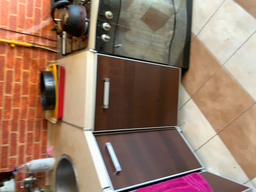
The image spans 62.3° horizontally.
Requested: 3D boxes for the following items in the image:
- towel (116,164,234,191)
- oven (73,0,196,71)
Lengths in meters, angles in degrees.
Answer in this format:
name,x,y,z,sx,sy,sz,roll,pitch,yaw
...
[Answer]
name,x,y,z,sx,sy,sz,roll,pitch,yaw
towel,0.260,0.450,1.050,0.220,0.620,0.060,4,91,53
oven,0.040,-0.550,1.700,0.630,0.720,0.600,5,92,53
